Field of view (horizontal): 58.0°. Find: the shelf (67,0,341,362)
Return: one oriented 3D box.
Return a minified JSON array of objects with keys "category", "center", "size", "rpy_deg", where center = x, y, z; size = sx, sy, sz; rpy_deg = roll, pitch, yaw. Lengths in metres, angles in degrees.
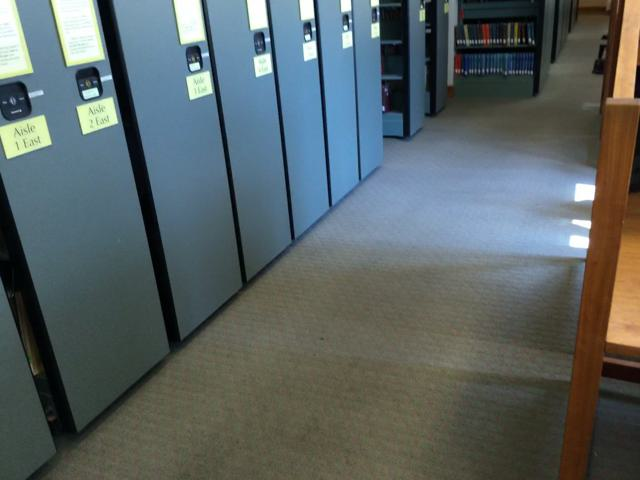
[{"category":"shelf","center":[-0.380,-0.730,2.690],"size":[0.180,1.970,1.610],"rpy_deg":[4,27,24]}]

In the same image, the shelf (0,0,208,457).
[{"category":"shelf","center":[-1.040,-0.290,1.950],"size":[0.680,1.840,0.710],"rpy_deg":[4,27,24]}]
